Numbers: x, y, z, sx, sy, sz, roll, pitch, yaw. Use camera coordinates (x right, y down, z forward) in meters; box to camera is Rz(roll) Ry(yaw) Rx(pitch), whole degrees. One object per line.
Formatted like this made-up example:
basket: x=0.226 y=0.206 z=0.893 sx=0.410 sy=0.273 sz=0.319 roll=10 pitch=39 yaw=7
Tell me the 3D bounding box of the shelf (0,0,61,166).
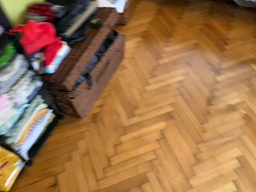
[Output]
shelf: x=-0.750 y=-0.100 z=1.020 sx=0.390 sy=1.100 sz=0.410 roll=20 pitch=58 yaw=14
